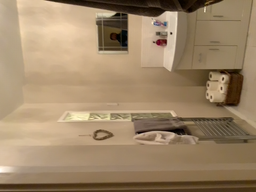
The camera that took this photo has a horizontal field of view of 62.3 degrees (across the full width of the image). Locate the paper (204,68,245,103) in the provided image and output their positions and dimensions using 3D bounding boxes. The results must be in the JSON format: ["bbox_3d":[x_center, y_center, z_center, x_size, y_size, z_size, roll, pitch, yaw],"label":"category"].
[{"bbox_3d":[1.190,-0.140,2.650,0.260,0.350,0.400,-102,13,-77],"label":"paper"}]

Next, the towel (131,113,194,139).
[{"bbox_3d":[0.290,0.260,1.900,0.310,0.500,0.120,-102,13,-77],"label":"towel"}]

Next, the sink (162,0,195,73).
[{"bbox_3d":[0.570,-0.750,2.470,0.500,0.190,0.870,-99,10,-73],"label":"sink"}]
